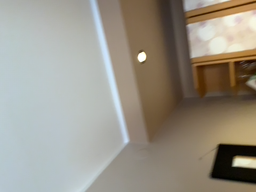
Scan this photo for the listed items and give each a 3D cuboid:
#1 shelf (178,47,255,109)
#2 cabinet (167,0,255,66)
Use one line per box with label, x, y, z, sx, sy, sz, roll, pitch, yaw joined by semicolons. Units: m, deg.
shelf;0.810;-0.130;1.470;0.290;0.810;0.340;-37;-61;-54
cabinet;0.720;-0.570;1.330;0.300;0.850;0.600;-37;-61;-54
